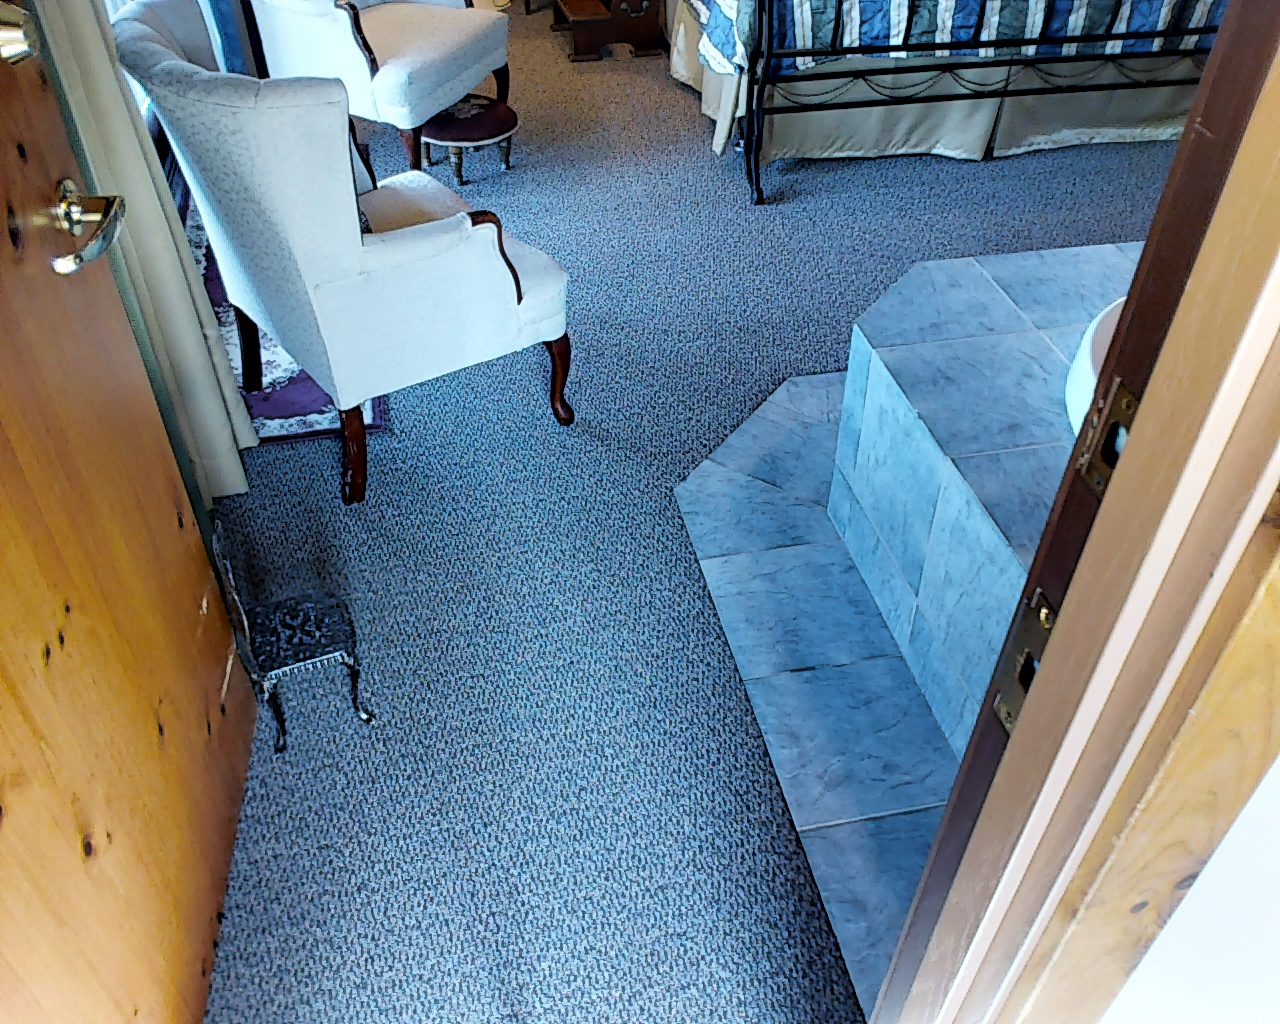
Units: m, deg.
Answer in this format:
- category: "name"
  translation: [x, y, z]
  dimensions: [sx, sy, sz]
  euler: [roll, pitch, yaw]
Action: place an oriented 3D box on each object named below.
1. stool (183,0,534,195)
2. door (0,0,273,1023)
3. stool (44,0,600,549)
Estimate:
- category: "stool"
  translation: [-0.900, -1.680, 3.500]
  dimensions: [0.780, 0.900, 0.770]
  euler: [16, 44, 18]
- category: "door"
  translation: [-0.640, -0.160, 0.940]
  dimensions: [0.040, 2.100, 0.960]
  euler: [-5, 42, -5]
- category: "stool"
  translation: [-0.630, -0.640, 2.360]
  dimensions: [0.760, 0.980, 0.750]
  euler: [-29, 49, -29]
